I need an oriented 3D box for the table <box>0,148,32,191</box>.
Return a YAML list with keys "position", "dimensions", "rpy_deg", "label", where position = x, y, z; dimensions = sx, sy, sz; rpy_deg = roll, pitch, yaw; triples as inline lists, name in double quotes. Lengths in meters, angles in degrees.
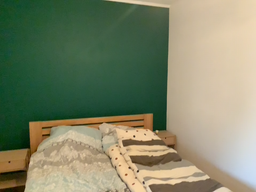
- position: [-1.430, 0.960, 2.660]
  dimensions: [0.370, 0.460, 0.350]
  rpy_deg: [-2, 7, -21]
  label: "table"
